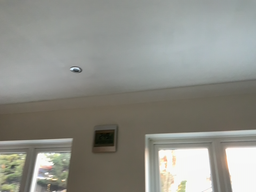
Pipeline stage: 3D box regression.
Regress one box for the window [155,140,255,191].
[{"bbox_3d":[1.040,0.840,1.620,1.620,0.980,0.100,-5,-25,14],"label":"window"}]
